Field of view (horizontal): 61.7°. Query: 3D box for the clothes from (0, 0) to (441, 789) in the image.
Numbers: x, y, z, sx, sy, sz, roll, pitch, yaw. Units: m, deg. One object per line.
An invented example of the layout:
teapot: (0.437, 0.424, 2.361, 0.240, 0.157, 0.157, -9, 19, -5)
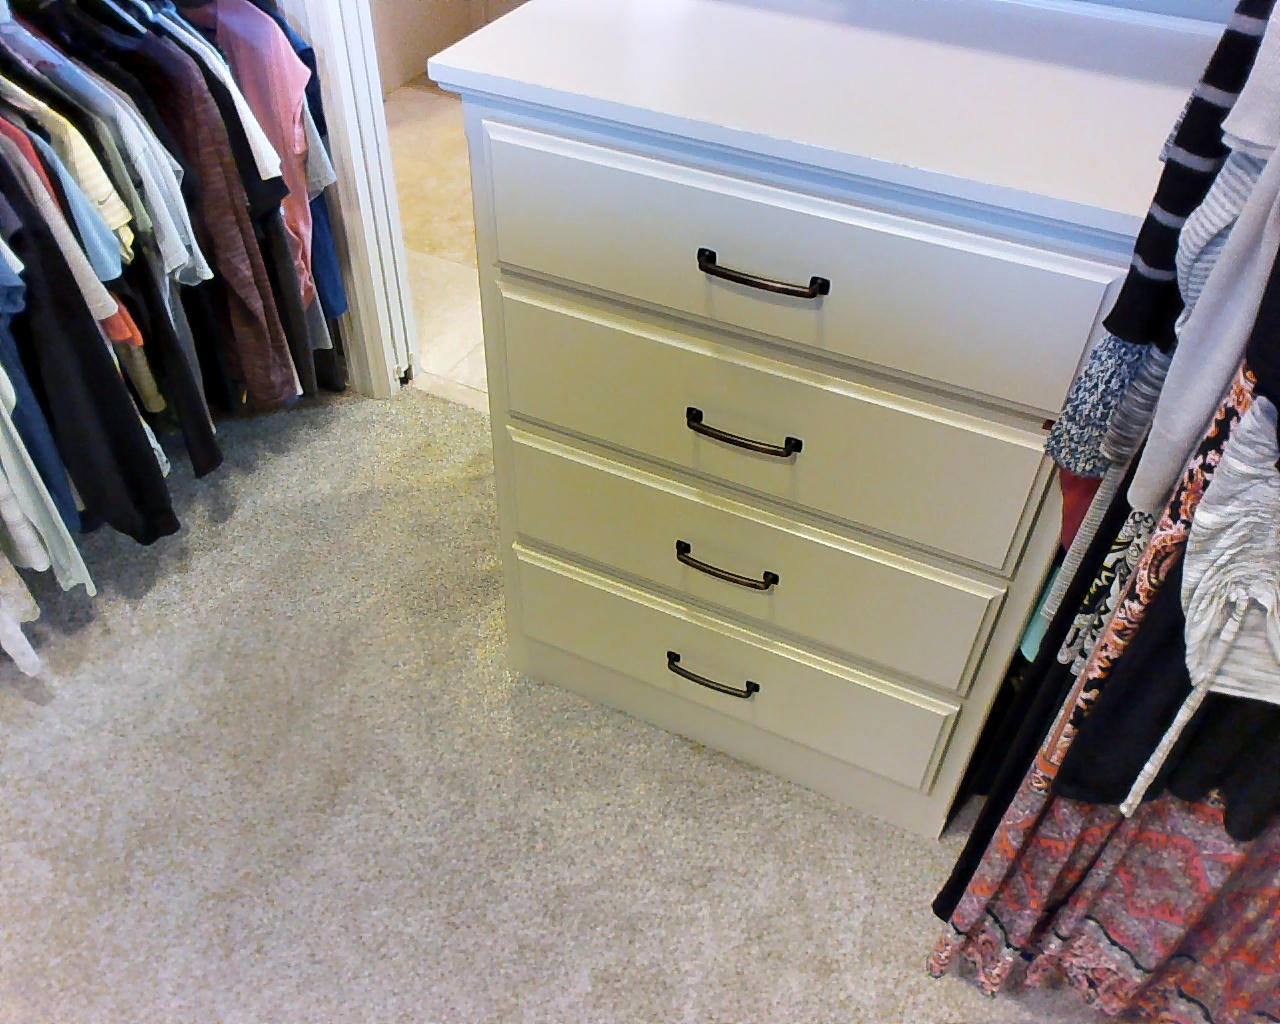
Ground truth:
clothes: (-0.980, -0.370, 1.810, 0.600, 0.940, 1.220, 20, 46, 18)
